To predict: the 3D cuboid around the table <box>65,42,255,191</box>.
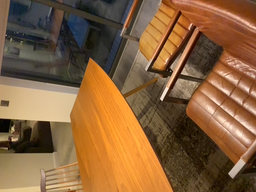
[{"bbox_3d":[0.150,0.430,1.640,0.880,0.760,1.860,-65,35,26],"label":"table"}]
